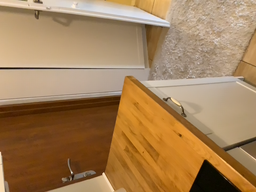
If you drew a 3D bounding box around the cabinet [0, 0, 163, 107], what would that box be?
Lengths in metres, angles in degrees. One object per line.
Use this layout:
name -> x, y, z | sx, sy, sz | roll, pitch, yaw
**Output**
cabinet -> -0.920, -0.380, 1.680 | 0.570, 2.470, 0.730 | 42, 129, 47
